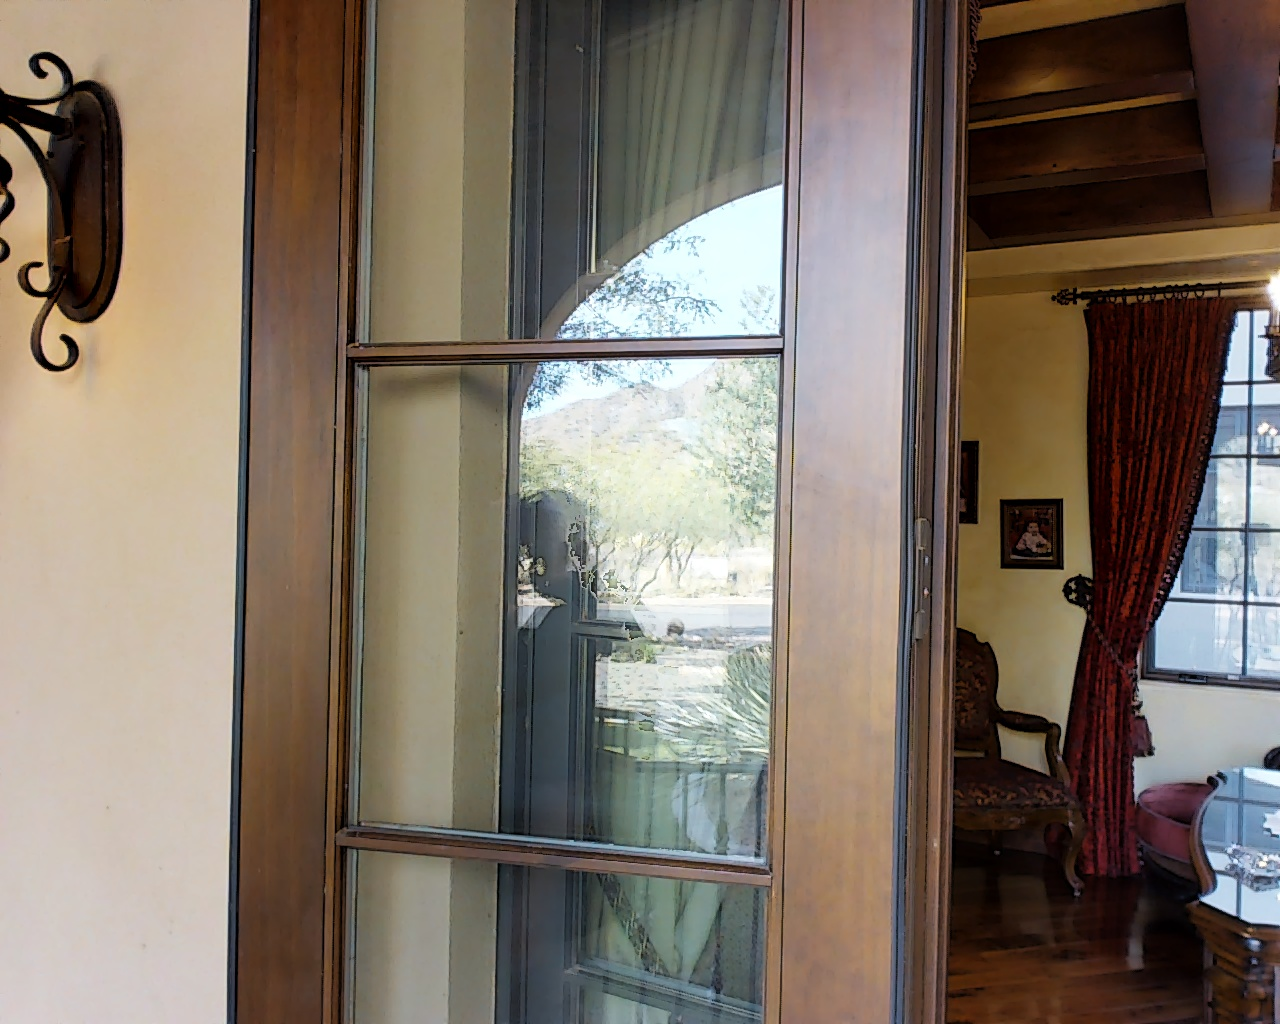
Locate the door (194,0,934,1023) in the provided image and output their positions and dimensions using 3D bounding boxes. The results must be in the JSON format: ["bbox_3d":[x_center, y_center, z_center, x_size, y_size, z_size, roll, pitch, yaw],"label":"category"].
[{"bbox_3d":[-0.100,0.400,1.090,0.730,2.360,0.130,1,0,17],"label":"door"}]
